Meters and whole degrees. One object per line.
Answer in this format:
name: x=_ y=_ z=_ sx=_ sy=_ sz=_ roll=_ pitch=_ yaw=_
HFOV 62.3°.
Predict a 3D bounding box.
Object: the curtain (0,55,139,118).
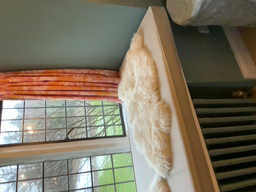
curtain: x=-0.590 y=-0.070 z=1.980 sx=0.450 sy=1.270 sz=0.340 roll=118 pitch=146 yaw=-54
